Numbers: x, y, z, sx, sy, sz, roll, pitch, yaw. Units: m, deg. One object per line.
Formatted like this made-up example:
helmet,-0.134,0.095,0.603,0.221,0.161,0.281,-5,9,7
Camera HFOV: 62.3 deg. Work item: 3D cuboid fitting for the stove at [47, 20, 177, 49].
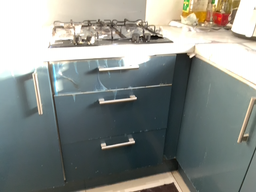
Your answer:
stove,-0.120,-0.360,1.180,0.600,0.040,0.500,-7,29,-16
